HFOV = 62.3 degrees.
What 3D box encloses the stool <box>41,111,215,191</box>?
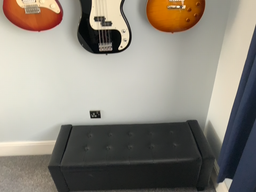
[{"bbox_3d":[0.000,0.440,1.640,1.090,0.410,0.470,-2,34,0],"label":"stool"}]
